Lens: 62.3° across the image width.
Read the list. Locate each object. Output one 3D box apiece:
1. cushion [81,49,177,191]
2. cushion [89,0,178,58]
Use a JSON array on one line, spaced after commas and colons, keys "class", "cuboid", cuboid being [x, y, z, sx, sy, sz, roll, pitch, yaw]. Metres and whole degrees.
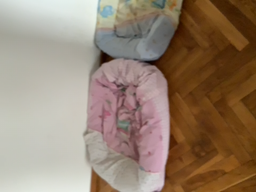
[{"class": "cushion", "cuboid": [-0.050, 0.170, 1.530, 0.740, 0.150, 0.960, 9, 98, 43]}, {"class": "cushion", "cuboid": [0.030, -0.710, 1.450, 0.610, 0.210, 0.850, 12, 100, 43]}]
